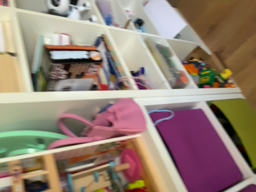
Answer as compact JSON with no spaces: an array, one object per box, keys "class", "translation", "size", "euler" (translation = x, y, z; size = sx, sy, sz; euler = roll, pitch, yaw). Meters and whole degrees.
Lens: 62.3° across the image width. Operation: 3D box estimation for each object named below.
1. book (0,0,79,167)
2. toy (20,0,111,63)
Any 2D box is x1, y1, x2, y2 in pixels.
[{"class":"book","translation":[-0.380,-0.030,0.710],"size":[0.420,0.210,0.380],"euler":[-50,53,42]},{"class":"toy","translation":[-0.300,-0.370,0.960],"size":[0.240,0.270,0.350],"euler":[-50,53,42]}]
